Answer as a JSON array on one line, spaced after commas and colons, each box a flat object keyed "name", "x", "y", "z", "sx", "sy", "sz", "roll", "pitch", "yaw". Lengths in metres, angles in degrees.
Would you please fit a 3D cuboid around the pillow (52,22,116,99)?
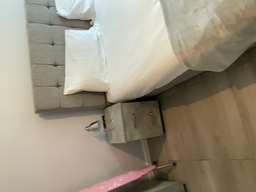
[{"name": "pillow", "x": -0.460, "y": -0.380, "z": 2.210, "sx": 0.140, "sy": 0.480, "sz": 0.720, "roll": 118, "pitch": 137, "yaw": -73}]

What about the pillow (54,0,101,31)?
[{"name": "pillow", "x": -0.610, "y": -1.120, "z": 2.390, "sx": 0.140, "sy": 0.440, "sz": 0.720, "roll": 132, "pitch": 125, "yaw": -72}]
